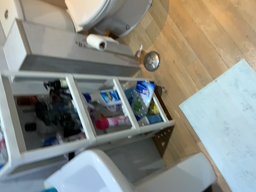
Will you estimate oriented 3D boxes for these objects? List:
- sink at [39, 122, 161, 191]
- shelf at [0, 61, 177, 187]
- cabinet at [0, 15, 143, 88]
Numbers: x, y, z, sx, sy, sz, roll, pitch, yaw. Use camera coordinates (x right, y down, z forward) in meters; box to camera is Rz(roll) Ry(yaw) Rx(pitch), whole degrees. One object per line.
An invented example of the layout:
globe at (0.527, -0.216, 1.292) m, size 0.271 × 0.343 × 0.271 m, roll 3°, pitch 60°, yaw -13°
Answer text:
sink at (-0.070, 0.450, 0.730) m, size 0.440 × 0.150 × 0.560 m, roll -41°, pitch 66°, yaw 35°
shelf at (-0.170, 0.090, 1.130) m, size 0.250 × 0.990 × 0.390 m, roll -41°, pitch 66°, yaw 35°
cabinet at (-0.290, -0.220, 1.320) m, size 0.220 × 0.850 × 0.260 m, roll -37°, pitch 68°, yaw 36°
